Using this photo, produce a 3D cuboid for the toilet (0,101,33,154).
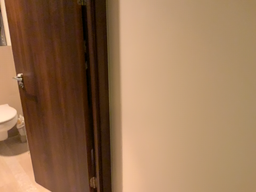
[{"bbox_3d":[-1.410,0.340,2.410,0.490,0.380,0.400,18,26,41],"label":"toilet"}]
